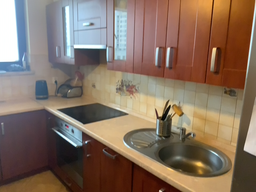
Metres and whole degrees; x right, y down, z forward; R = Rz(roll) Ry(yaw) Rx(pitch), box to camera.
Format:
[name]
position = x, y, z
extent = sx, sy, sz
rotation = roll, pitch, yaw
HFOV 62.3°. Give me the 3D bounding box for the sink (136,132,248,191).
[sink]
position = 0.400, 0.450, 1.370
extent = 0.490, 0.190, 0.490
rotation = -8, 16, -39
